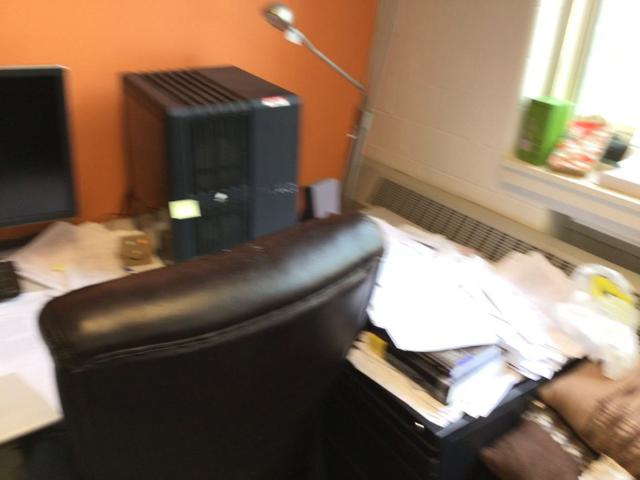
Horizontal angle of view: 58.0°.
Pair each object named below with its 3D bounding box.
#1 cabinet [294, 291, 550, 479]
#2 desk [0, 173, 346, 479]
[{"bbox_3d":[0.210,0.530,1.430,0.350,0.630,0.410,-13,30,-36],"label":"cabinet"},{"bbox_3d":[-0.650,0.410,1.410,1.110,0.840,0.760,-13,30,-36],"label":"desk"}]
